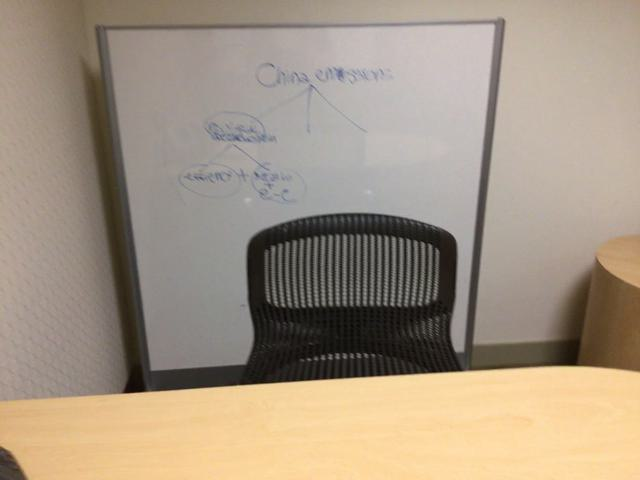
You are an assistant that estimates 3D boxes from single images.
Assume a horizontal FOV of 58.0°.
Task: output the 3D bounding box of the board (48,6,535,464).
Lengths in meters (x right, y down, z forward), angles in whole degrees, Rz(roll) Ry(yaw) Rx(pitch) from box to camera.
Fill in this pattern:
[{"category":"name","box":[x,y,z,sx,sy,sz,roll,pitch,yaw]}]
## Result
[{"category":"board","box":[-0.040,0.010,1.870,1.230,1.360,0.360,-4,21,-2]}]
